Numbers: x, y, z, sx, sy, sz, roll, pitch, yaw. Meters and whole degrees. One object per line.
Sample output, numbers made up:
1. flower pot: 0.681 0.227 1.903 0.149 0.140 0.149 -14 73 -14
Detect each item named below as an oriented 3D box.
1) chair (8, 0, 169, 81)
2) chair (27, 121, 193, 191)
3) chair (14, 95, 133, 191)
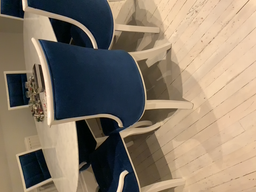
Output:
1. chair: -0.310 -0.520 1.530 0.590 0.900 0.510 -54 53 46
2. chair: -0.140 0.620 1.490 0.540 0.910 0.570 -47 58 49
3. chair: -0.540 0.440 2.040 0.530 0.900 0.610 49 134 39
